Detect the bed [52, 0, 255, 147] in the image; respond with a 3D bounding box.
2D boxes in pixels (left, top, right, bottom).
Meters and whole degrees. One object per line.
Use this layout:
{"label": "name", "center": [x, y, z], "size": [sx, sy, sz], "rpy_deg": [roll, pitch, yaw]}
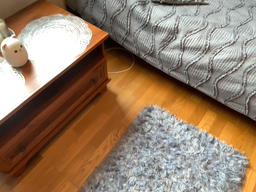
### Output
{"label": "bed", "center": [0.720, -0.600, 1.630], "size": [2.230, 0.480, 1.400], "rpy_deg": [33, 60, 18]}
